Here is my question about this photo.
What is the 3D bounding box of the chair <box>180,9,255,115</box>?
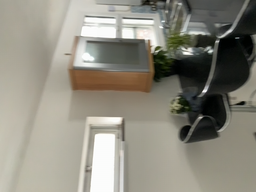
[{"bbox_3d":[1.010,-0.210,1.460,0.490,1.100,0.490,97,173,-50],"label":"chair"}]

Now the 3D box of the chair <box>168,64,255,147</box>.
[{"bbox_3d":[0.980,0.100,1.840,0.500,1.100,0.490,97,173,-50],"label":"chair"}]

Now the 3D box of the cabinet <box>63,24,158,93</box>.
[{"bbox_3d":[-0.180,-0.430,2.340,0.340,0.880,0.710,97,173,-49],"label":"cabinet"}]
